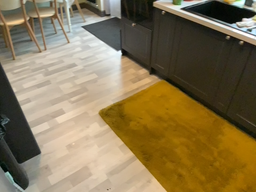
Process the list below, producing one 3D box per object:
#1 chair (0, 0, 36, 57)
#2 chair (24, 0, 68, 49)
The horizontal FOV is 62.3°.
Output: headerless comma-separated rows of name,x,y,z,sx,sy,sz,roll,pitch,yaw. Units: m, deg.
chair,-1.650,-1.050,3.000,0.390,0.800,0.450,-17,43,-20
chair,-1.250,-1.210,3.200,0.430,0.800,0.420,-19,44,-22
